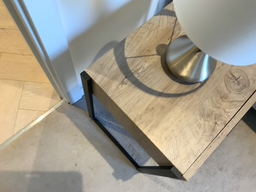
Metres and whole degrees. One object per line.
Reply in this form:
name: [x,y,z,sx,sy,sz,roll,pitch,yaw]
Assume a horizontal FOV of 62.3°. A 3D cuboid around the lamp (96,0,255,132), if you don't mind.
lamp: [0.160,-0.190,0.440,0.290,0.440,0.360,-39,80,-17]
